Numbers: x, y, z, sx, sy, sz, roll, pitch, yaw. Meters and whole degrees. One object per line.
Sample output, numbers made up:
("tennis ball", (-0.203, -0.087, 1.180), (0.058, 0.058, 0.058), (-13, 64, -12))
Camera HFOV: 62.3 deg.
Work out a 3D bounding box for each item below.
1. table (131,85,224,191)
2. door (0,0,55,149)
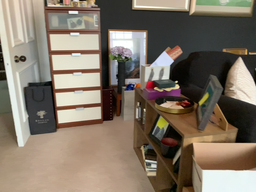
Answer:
("table", (0.290, 0.300, 1.600), (0.350, 0.570, 0.720), (-4, 19, -14))
("door", (-1.040, -0.730, 2.080), (0.240, 2.170, 1.100), (-2, 19, -9))
